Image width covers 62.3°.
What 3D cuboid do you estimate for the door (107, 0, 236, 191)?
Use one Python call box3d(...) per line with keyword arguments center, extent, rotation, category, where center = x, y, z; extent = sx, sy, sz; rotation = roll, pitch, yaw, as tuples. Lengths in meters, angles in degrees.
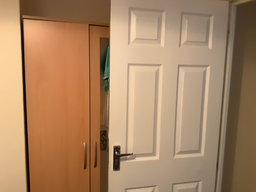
box3d(center=(0.270, 0.370, 1.390), extent=(0.810, 1.900, 0.050), rotation=(-1, 8, -16), category="door")
